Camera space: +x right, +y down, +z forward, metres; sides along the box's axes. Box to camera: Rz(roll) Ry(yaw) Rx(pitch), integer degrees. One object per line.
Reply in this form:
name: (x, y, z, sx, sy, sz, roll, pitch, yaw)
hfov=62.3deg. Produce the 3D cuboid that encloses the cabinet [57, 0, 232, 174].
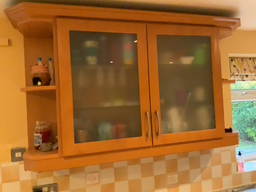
cabinet: (0.110, -0.080, 1.380, 1.040, 0.900, 0.320, -3, 0, -18)
